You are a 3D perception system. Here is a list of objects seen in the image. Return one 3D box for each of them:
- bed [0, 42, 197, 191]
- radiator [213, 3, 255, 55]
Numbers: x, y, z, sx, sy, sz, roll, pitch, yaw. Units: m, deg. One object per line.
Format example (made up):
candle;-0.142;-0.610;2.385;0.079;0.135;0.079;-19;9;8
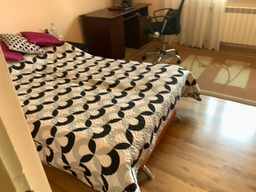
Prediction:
bed;-0.530;0.010;2.100;2.010;0.510;1.310;14;35;25
radiator;2.000;-1.070;3.430;1.050;0.740;0.170;16;36;28
